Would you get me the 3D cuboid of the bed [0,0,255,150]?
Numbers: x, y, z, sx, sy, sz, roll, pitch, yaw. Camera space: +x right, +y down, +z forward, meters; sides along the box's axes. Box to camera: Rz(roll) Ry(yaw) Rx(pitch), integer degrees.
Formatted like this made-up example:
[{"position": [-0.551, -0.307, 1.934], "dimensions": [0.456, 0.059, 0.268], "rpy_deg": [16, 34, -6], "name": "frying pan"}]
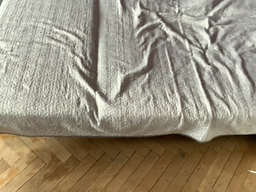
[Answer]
[{"position": [0.100, -0.400, 1.560], "dimensions": [1.990, 0.390, 1.490], "rpy_deg": [1, 56, -8], "name": "bed"}]
